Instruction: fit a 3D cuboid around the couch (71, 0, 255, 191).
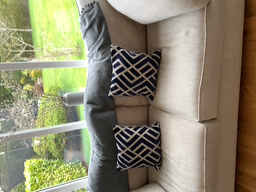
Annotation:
[{"bbox_3d":[0.200,0.090,1.710,1.140,0.900,2.230,17,111,61],"label":"couch"}]
